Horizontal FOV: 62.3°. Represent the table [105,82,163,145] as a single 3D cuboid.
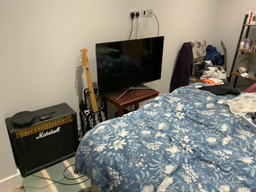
[{"bbox_3d":[0.070,0.190,2.600,0.620,0.530,0.320,-17,30,-34],"label":"table"}]
